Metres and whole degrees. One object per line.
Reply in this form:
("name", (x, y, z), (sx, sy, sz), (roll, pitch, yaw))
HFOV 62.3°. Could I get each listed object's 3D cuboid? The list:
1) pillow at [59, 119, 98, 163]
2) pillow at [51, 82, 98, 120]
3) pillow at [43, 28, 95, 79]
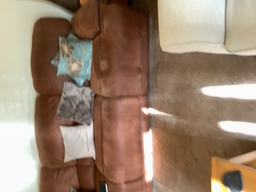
("pillow", (-0.520, 0.470, 2.290), (0.230, 0.360, 0.390), (-171, 77, -82))
("pillow", (-0.570, 0.050, 2.320), (0.240, 0.400, 0.350), (-66, -30, -84))
("pillow", (-0.610, -0.430, 2.230), (0.200, 0.440, 0.470), (-53, -41, -82))
